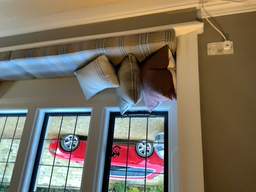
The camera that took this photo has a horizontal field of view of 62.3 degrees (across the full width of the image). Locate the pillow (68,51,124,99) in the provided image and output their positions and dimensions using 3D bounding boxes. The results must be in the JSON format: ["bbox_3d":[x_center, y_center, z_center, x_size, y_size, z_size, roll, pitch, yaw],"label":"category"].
[{"bbox_3d":[-0.260,-0.150,1.700,0.250,0.200,0.400,19,155,-36],"label":"pillow"}]

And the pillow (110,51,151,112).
[{"bbox_3d":[0.010,-0.090,1.620,0.190,0.330,0.360,10,159,-16],"label":"pillow"}]

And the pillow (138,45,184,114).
[{"bbox_3d":[0.220,-0.090,1.550,0.220,0.320,0.470,5,160,-2],"label":"pillow"}]
